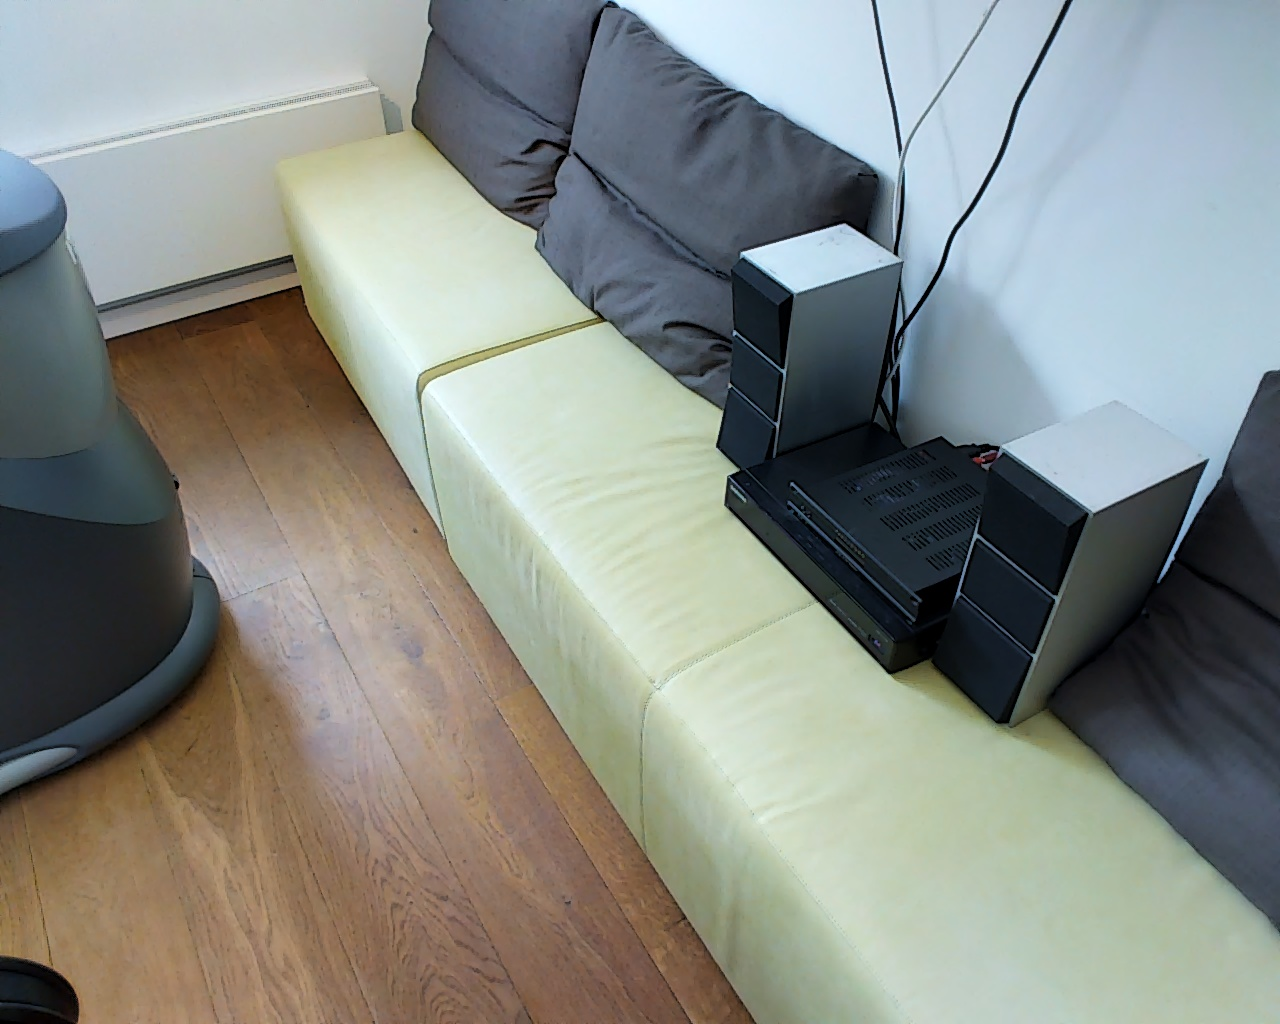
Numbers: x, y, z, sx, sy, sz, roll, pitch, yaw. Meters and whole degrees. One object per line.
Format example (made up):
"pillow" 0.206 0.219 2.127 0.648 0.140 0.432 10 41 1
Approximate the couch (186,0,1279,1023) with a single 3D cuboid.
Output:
"couch" -0.010 -0.240 1.710 0.630 0.910 2.730 -22 46 -22

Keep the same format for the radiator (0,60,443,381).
"radiator" -1.660 -0.450 2.270 2.560 0.490 0.110 -22 46 -22
